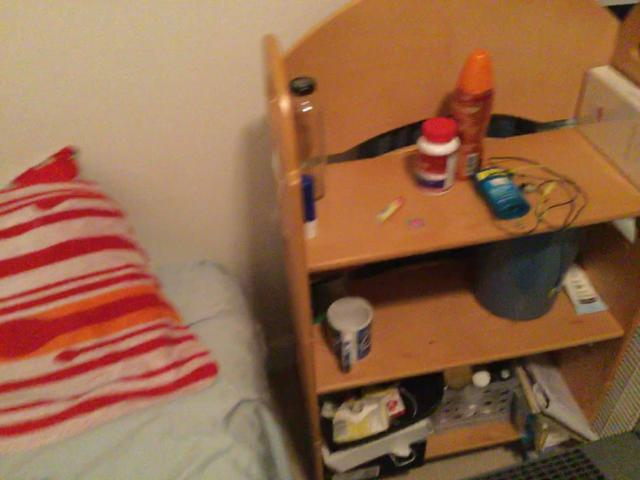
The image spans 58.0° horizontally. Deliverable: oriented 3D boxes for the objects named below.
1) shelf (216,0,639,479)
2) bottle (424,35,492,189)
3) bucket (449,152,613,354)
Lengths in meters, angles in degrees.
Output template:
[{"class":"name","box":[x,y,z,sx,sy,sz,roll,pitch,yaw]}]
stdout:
[{"class":"shelf","box":[0.260,0.040,1.130,0.700,1.060,0.420,-9,37,-2]},{"class":"bottle","box":[0.220,-0.210,0.950,0.060,0.200,0.140,-9,37,-2]},{"class":"bucket","box":[0.380,0.020,1.110,0.180,0.260,0.260,-9,37,-2]}]
